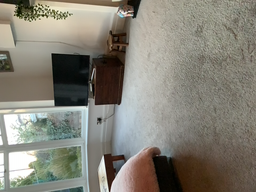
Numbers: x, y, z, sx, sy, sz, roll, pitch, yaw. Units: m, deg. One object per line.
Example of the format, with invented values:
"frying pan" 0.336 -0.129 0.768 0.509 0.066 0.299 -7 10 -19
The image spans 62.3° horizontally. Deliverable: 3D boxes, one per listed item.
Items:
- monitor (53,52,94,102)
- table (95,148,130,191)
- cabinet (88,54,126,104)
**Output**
"monitor" -0.870 -0.280 3.370 0.060 0.590 0.840 -119 32 -54
"table" -0.280 1.440 3.520 0.820 0.340 0.820 111 151 -50
"cabinet" -0.380 -0.290 3.550 0.520 0.490 0.680 -125 38 -59
